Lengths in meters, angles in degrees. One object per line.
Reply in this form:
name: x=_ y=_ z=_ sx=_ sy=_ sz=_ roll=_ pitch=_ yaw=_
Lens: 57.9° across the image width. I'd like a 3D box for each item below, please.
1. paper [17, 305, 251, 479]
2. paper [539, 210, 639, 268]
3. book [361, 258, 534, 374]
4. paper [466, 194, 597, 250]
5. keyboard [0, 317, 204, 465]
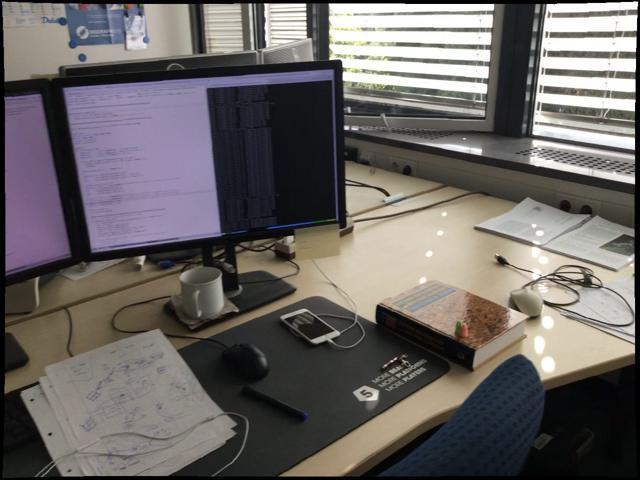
paper: x=-0.330 y=0.250 z=0.980 sx=0.230 sy=0.060 sz=0.410 roll=-20 pitch=29 yaw=-35
paper: x=0.759 y=-0.010 z=1.560 sx=0.310 sy=0.020 sz=0.180 roll=-20 pitch=29 yaw=-35
book: x=0.250 y=0.140 z=1.170 sx=0.190 sy=0.070 sz=0.280 roll=-20 pitch=29 yaw=-35
paper: x=0.619 y=-0.060 z=1.690 sx=0.330 sy=0.020 sz=0.220 roll=-20 pitch=29 yaw=-35
keyboard: x=-0.380 y=0.240 z=0.990 sx=0.310 sy=0.050 sz=0.170 roll=-20 pitch=29 yaw=-35
